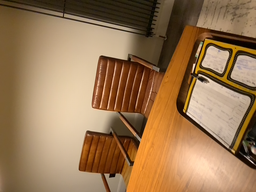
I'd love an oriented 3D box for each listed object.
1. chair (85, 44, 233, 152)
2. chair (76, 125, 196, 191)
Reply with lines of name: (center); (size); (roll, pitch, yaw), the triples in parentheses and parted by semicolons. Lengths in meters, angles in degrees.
chair: (0.200, 0.000, 1.740); (0.620, 0.890, 0.580); (45, 126, 56)
chair: (0.030, 0.680, 2.030); (0.630, 0.860, 0.540); (48, 128, 55)
